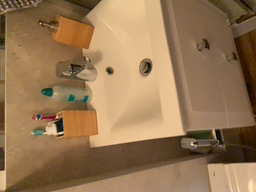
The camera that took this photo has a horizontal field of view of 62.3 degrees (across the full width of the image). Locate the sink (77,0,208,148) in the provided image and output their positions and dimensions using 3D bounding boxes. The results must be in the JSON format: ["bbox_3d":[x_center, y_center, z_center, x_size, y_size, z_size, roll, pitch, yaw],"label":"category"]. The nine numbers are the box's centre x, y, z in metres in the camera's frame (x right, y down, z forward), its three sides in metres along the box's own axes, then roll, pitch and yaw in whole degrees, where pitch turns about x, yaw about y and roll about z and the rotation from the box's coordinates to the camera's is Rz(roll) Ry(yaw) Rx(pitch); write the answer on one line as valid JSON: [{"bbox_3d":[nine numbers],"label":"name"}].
[{"bbox_3d":[0.000,-0.120,0.710,0.390,0.130,0.540,-20,72,45],"label":"sink"}]
